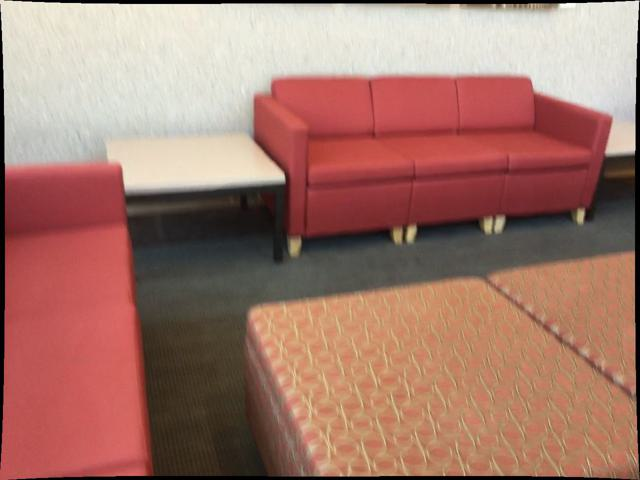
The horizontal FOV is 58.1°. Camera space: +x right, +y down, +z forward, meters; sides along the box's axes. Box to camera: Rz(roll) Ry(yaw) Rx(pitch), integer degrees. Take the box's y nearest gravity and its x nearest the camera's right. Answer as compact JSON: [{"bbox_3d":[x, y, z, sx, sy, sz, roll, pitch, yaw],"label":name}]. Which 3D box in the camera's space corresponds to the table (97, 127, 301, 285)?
[{"bbox_3d":[-0.649,-0.230,2.940,0.859,0.441,0.920,-5,26,-18],"label":"table"}]
